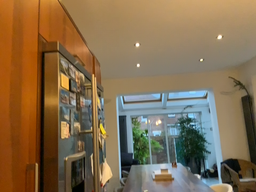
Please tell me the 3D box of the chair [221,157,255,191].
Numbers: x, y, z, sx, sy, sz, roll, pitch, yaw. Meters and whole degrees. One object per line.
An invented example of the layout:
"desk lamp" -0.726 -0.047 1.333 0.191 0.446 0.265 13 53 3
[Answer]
"chair" 2.300 1.620 4.030 0.680 0.770 0.780 -4 -10 6
